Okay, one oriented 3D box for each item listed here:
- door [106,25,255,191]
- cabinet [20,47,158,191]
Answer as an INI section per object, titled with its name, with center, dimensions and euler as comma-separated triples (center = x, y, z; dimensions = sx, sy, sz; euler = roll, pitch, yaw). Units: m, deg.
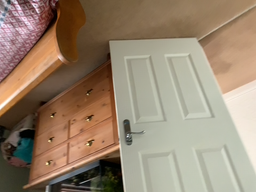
[door]
center = 0.350, 0.280, 1.340
dimensions = 0.810, 2.080, 0.120
euler = -4, 146, -8
[cabinet]
center = -0.420, 0.290, 2.020
dimensions = 1.170, 0.920, 0.460
euler = -29, 142, 27
